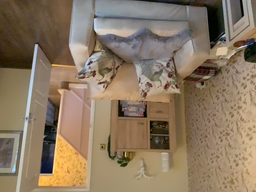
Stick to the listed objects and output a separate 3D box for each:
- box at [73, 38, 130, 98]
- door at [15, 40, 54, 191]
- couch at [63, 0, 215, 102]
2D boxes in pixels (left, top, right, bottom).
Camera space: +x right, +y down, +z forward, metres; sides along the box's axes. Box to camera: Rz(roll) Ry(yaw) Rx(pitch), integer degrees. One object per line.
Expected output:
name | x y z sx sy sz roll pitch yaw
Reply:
box | -0.260 -0.300 2.230 0.210 0.430 0.420 18 151 40
door | -1.310 0.260 3.090 0.090 1.930 0.790 3 167 -7
couch | 0.070 -0.470 2.360 1.280 0.830 1.020 2 167 -5
